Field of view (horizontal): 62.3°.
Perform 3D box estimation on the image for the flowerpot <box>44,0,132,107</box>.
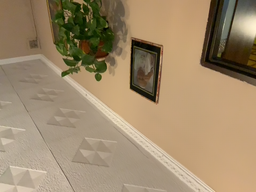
[{"bbox_3d":[-0.280,-0.430,1.470,0.380,0.820,0.470,-19,-145,-34],"label":"flowerpot"}]
